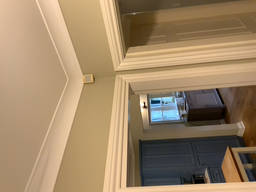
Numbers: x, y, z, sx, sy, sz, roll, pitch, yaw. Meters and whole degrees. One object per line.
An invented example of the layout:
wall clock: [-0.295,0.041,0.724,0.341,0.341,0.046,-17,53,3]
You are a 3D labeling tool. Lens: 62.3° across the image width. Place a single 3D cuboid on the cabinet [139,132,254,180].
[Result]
cabinet: [1.290,1.240,4.370,0.630,2.070,0.610,-89,-8,-46]
